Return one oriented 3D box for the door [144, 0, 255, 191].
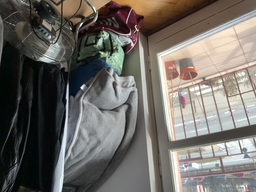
[{"bbox_3d":[0.620,0.210,1.180,0.910,2.340,0.200,-18,150,30],"label":"door"}]
